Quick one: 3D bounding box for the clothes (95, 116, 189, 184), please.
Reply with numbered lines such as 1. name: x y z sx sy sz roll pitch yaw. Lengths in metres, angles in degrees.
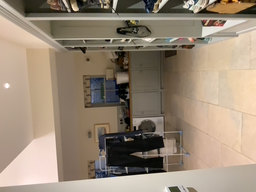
1. clothes: 0.230 1.010 4.310 0.920 1.720 1.000 -158 66 -82
